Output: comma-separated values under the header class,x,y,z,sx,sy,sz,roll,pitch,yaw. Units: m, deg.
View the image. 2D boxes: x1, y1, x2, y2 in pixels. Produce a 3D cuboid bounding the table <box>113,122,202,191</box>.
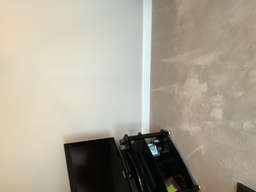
class,x,y,z,sx,sy,sz,roll,pitch,yaw
table,0.240,0.710,2.120,0.740,0.490,0.430,65,146,36
